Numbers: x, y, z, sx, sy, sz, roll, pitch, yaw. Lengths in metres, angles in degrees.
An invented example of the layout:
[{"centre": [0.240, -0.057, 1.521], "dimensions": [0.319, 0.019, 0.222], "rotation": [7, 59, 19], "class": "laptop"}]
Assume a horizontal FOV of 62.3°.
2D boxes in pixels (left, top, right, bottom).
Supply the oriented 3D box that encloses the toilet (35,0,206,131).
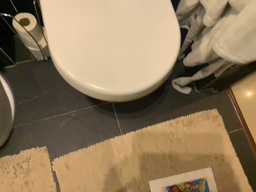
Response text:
[{"centre": [-0.080, -0.210, 0.820], "dimensions": [0.390, 0.480, 0.560], "rotation": [-12, 76, -10], "class": "toilet"}]
